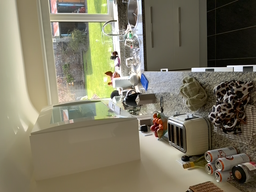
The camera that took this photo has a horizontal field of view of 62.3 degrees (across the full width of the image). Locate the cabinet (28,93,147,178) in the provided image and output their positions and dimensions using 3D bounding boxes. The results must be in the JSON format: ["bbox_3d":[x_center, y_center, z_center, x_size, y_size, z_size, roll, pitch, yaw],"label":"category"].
[{"bbox_3d":[-0.390,0.240,1.900,1.000,0.770,0.360,-158,63,-70],"label":"cabinet"}]
